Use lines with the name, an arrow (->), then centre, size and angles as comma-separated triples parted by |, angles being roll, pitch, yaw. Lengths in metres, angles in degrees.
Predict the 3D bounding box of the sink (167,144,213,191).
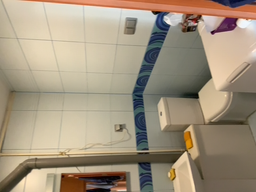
sink -> 0.520, 0.770, 1.800 | 0.450, 0.160, 0.600 | 108, 161, -60
